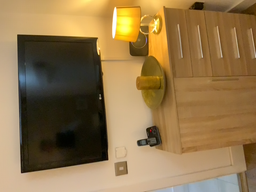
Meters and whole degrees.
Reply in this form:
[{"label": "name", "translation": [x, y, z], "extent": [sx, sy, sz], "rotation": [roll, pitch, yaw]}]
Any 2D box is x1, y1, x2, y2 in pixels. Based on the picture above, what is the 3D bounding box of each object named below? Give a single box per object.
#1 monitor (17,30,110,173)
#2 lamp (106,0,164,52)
[{"label": "monitor", "translation": [-0.450, 0.000, 1.490], "extent": [0.050, 0.570, 0.940], "rotation": [148, 118, -69]}, {"label": "lamp", "translation": [0.030, -0.530, 1.570], "extent": [0.360, 0.300, 0.300], "rotation": [157, 109, -71]}]
